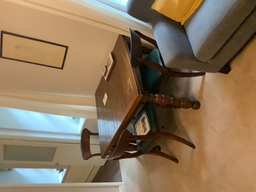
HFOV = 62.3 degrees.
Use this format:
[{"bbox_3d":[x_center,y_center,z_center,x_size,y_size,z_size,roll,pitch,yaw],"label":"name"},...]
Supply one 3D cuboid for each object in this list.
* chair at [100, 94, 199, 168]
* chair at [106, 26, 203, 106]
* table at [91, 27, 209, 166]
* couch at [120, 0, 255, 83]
[{"bbox_3d":[0.190,0.390,2.240,0.550,0.800,0.470,-105,33,-41],"label":"chair"},{"bbox_3d":[0.250,-0.300,2.330,0.470,0.800,0.560,-106,33,-42],"label":"chair"},{"bbox_3d":[0.100,0.040,2.630,1.160,0.740,1.170,-106,33,-43],"label":"table"},{"bbox_3d":[0.530,-0.750,1.780,0.850,0.840,0.810,121,148,-41],"label":"couch"}]
